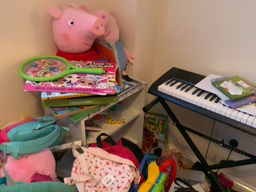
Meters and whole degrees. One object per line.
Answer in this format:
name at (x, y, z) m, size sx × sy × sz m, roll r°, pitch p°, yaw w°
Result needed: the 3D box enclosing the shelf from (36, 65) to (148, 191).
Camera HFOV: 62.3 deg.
shelf at (-0.200, 0.250, 1.420) m, size 0.380 × 0.710 × 0.530 m, roll 23°, pitch 37°, yaw 32°
